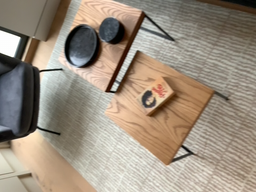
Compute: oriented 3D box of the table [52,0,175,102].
[{"bbox_3d":[-0.090,-0.310,1.430,0.510,0.470,0.470,35,103,30],"label":"table"}]
